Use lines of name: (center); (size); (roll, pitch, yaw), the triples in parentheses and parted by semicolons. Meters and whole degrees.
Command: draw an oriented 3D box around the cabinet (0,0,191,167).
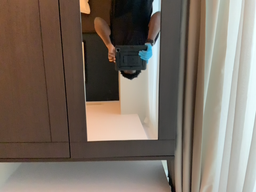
cabinet: (-0.270, -0.750, 0.990); (0.980, 2.010, 0.620); (-1, -167, -2)
